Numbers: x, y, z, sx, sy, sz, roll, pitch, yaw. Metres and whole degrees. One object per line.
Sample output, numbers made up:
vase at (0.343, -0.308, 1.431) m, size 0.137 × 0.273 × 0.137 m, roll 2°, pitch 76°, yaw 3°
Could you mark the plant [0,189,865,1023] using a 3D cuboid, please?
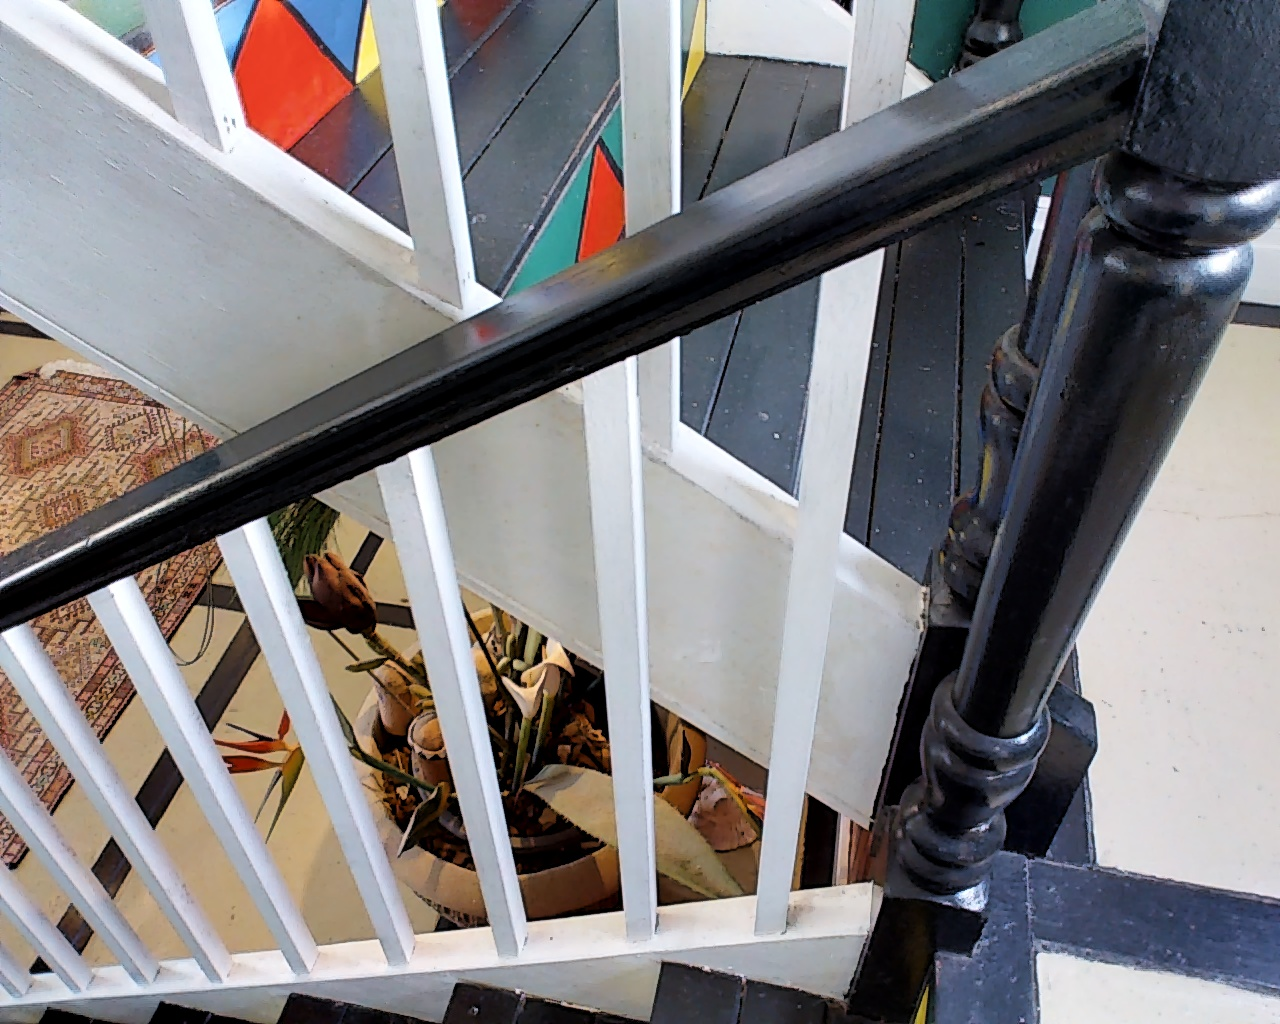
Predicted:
plant at (-0.150, 0.370, 1.810) m, size 0.820 × 1.470 × 0.860 m, roll 7°, pitch 43°, yaw 10°
